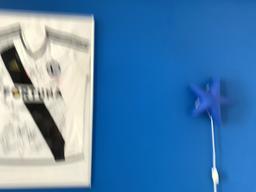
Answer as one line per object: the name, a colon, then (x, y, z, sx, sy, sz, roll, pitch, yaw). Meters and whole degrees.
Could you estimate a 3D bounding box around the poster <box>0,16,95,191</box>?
poster: (-0.480, 0.060, 1.130, 0.580, 0.920, 0.100, 1, -2, -7)
